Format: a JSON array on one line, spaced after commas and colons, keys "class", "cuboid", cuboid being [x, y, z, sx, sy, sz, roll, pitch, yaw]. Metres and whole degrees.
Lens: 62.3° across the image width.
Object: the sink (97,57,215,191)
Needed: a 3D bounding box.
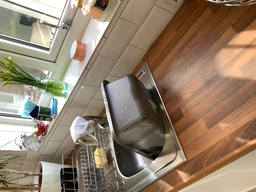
[{"class": "sink", "cuboid": [0.070, 0.180, 1.060, 0.490, 0.190, 0.520, -50, 42, 38]}]
